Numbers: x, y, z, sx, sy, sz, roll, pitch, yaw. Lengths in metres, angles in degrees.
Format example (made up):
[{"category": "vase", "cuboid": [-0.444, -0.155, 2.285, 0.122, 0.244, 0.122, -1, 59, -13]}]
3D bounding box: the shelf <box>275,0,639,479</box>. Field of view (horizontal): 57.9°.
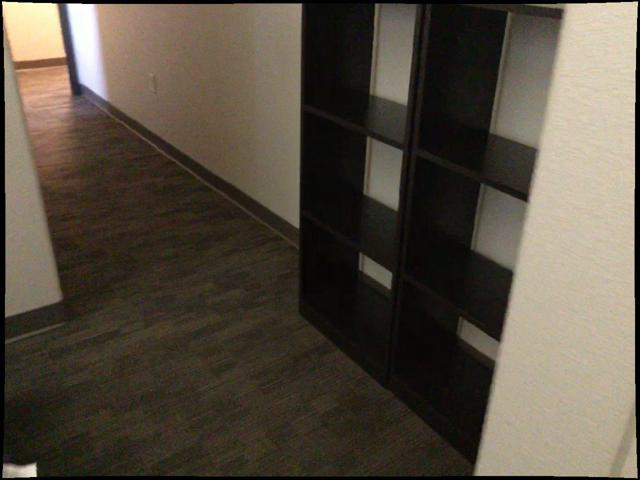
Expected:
[{"category": "shelf", "cuboid": [0.350, -0.120, 1.710, 0.400, 1.181, 1.080, -20, 34, -31]}]
